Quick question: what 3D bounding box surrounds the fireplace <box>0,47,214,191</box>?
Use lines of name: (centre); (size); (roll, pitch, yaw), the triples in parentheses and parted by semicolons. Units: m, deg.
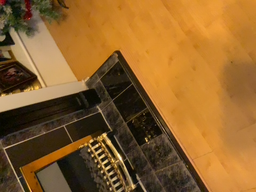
fireplace: (-0.190, 0.480, 1.180); (0.520, 1.150, 1.420); (-40, 77, 38)
